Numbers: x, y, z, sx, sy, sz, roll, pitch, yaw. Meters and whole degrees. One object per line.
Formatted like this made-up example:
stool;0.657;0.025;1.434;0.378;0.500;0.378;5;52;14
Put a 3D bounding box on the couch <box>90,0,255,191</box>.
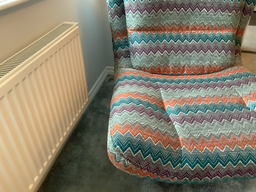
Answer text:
couch;0.320;-0.110;0.980;0.860;0.860;0.870;-2;36;-4
